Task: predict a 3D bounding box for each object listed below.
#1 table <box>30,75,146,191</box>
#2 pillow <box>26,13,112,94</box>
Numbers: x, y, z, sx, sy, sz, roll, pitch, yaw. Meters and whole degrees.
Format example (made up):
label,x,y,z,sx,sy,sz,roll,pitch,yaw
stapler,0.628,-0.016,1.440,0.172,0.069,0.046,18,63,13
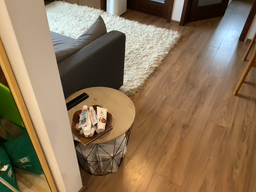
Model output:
label,x,y,z,sx,sy,sz,roll,pitch,yaw
table,-0.210,0.240,1.330,0.440,0.460,0.470,22,45,19
pillow,-0.380,-0.340,1.550,0.230,0.300,0.610,22,45,19
